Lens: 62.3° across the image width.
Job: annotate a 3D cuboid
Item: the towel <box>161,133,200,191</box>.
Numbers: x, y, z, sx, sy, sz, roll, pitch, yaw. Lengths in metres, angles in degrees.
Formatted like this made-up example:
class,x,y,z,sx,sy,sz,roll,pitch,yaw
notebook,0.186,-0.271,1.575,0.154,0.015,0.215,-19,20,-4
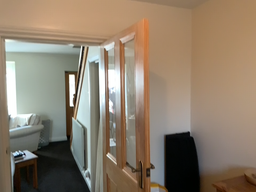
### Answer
class,x,y,z,sx,sy,sz,roll,pitch,yaw
towel,0.560,0.780,2.260,0.350,0.710,0.170,-2,1,-22

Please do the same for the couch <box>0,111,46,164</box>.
class,x,y,z,sx,sy,sz,roll,pitch,yaw
couch,-2.410,0.850,4.620,1.080,0.850,1.000,-1,4,-18
